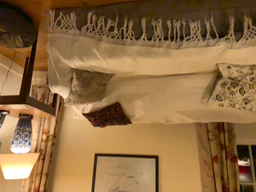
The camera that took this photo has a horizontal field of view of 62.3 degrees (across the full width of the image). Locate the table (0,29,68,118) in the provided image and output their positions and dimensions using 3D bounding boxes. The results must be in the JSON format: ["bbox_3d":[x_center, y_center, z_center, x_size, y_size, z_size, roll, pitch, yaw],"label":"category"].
[{"bbox_3d":[-1.090,-0.170,2.140,0.640,0.650,0.640,-3,163,12],"label":"table"}]

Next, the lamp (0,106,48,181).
[{"bbox_3d":[-1.030,0.440,1.980,0.310,0.610,0.360,-3,163,12],"label":"lamp"}]
